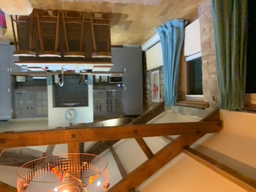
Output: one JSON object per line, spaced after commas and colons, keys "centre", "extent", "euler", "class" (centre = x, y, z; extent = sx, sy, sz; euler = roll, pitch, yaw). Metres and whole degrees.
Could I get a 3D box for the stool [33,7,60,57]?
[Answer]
{"centre": [-1.520, -1.180, 3.990], "extent": [0.360, 0.830, 0.360], "euler": [-1, -179, -2], "class": "stool"}
